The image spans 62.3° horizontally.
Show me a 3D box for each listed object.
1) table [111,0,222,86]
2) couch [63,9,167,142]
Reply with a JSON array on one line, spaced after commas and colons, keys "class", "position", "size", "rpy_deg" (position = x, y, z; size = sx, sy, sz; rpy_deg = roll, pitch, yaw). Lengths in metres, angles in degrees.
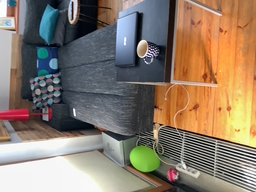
[{"class": "table", "position": [0.250, -0.340, 1.480], "size": [0.530, 0.500, 0.500], "rpy_deg": [7, 94, 54]}, {"class": "couch", "position": [-0.240, -0.180, 2.230], "size": [1.300, 0.410, 0.990], "rpy_deg": [6, 94, 54]}]
